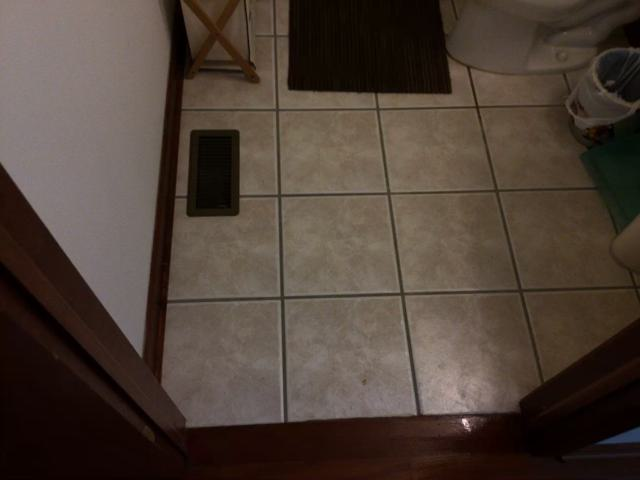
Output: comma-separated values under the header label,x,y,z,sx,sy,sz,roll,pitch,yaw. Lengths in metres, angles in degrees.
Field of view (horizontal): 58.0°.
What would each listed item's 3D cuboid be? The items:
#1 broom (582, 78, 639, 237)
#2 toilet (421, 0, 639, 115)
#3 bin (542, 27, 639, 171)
label,x,y,z,sx,sy,sz,roll,pitch,yaw
broom,0.920,-0.210,1.450,0.310,0.350,0.260,0,60,-4
toilet,0.710,-0.790,1.510,0.670,0.780,0.510,0,60,-4
bin,0.860,-0.380,1.590,0.340,0.260,0.280,0,60,-4
